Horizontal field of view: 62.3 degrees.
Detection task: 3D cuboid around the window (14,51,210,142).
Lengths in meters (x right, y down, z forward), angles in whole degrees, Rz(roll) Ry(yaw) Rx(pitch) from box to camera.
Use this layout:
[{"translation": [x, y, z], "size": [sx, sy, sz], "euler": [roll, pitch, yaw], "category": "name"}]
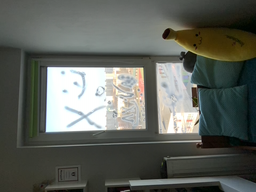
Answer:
[{"translation": [-0.120, 0.000, 2.120], "size": [0.110, 1.870, 0.850], "euler": [140, 130, -82], "category": "window"}]
